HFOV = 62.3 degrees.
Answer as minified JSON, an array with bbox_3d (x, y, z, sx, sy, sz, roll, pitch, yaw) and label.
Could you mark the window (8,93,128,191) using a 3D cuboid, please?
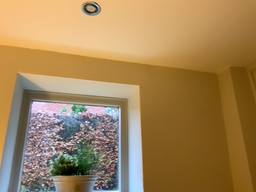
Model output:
[{"bbox_3d":[-0.370,0.340,1.480,0.750,0.700,0.040,5,-21,-16],"label":"window"}]
